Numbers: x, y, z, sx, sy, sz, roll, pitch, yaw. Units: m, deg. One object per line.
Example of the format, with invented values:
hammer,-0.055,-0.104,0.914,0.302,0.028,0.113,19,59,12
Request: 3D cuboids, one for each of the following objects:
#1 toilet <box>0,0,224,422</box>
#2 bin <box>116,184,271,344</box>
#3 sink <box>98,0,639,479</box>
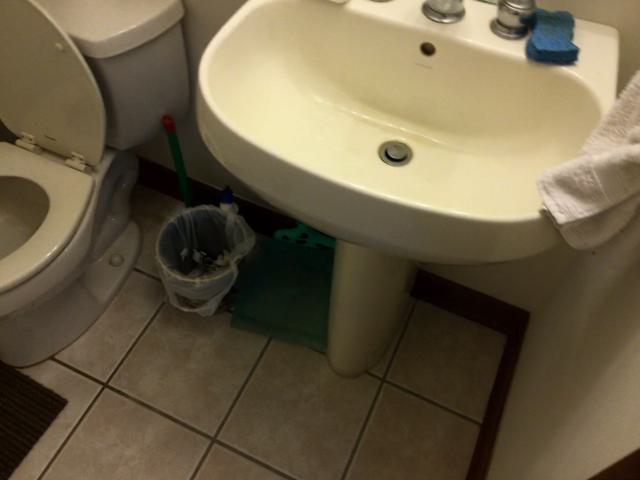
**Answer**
toilet,-0.630,-0.140,1.240,0.490,0.770,0.680,22,57,12
bin,-0.300,0.060,1.450,0.260,0.220,0.250,22,57,12
sink,0.110,0.000,1.060,0.580,0.980,0.450,22,57,12
